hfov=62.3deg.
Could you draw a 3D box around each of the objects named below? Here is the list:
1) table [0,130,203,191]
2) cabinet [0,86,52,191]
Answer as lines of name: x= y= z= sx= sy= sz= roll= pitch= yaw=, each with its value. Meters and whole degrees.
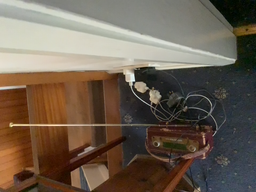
table: x=-0.030 y=0.520 z=0.820 sx=0.460 sy=0.670 sz=0.580 roll=1 pitch=97 yaw=33
cabinet: x=-1.830 y=0.630 z=3.410 sx=0.470 sy=0.940 sz=1.520 roll=1 pitch=97 yaw=33
